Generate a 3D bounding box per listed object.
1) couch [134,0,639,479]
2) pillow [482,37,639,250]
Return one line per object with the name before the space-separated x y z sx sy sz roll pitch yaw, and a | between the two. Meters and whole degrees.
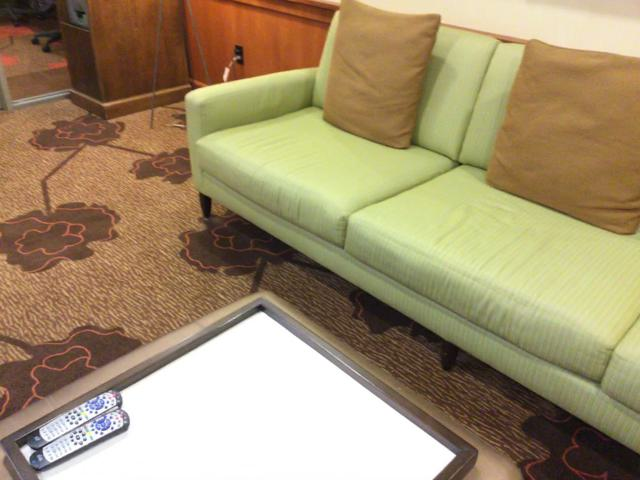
couch | 0.690 -0.180 1.940 1.170 0.900 3.080 -21 40 -39
pillow | 0.860 -0.340 1.910 0.530 0.580 0.190 23 32 40
